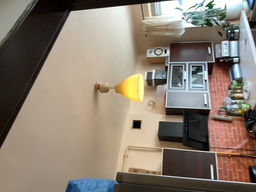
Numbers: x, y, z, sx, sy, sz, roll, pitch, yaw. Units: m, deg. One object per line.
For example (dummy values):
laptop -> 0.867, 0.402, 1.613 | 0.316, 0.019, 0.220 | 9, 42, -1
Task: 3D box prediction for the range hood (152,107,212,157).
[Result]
range hood -> 0.720, 0.470, 2.880 | 0.260, 0.720, 0.590 | 73, -157, -50
